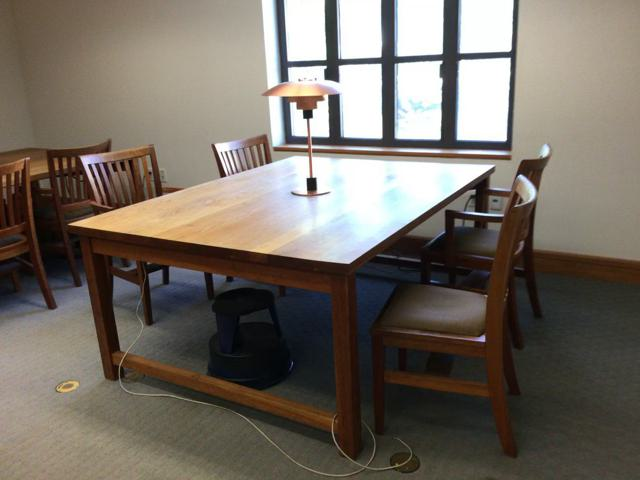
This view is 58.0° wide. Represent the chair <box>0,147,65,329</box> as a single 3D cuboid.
[{"bbox_3d":[-2.010,-0.030,3.320,0.670,0.960,0.710,9,13,28],"label":"chair"}]

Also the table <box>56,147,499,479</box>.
[{"bbox_3d":[-0.070,0.110,2.920,1.430,1.050,1.760,9,13,28],"label":"table"}]

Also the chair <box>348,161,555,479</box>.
[{"bbox_3d":[0.500,0.230,2.190,0.590,0.990,0.570,7,12,19],"label":"chair"}]

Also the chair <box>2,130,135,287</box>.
[{"bbox_3d":[-1.680,-0.250,3.930,0.460,0.950,0.660,9,13,28],"label":"chair"}]

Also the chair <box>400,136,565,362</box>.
[{"bbox_3d":[0.800,-0.010,2.830,0.570,0.950,0.580,9,13,28],"label":"chair"}]

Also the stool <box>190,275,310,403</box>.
[{"bbox_3d":[-0.320,0.430,2.640,0.410,0.420,0.340,9,13,28],"label":"stool"}]

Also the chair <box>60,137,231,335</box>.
[{"bbox_3d":[-1.000,-0.080,3.380,0.600,0.990,0.710,11,14,34],"label":"chair"}]
